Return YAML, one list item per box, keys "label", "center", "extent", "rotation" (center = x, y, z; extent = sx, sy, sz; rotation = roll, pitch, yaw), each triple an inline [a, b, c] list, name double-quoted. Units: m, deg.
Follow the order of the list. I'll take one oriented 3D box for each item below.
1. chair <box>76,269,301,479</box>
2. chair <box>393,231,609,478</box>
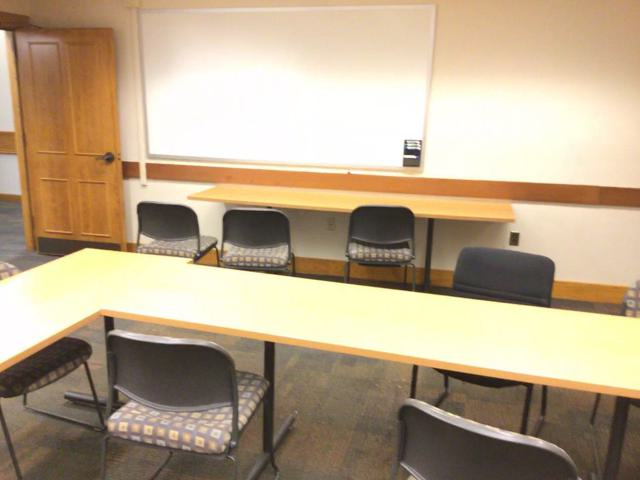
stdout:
- label: "chair"
  center: [-0.440, 0.550, 2.090]
  extent: [0.520, 0.680, 0.660]
  rotation: [8, 13, 13]
- label: "chair"
  center: [0.710, 0.450, 2.500]
  extent: [0.570, 0.790, 0.650]
  rotation: [7, 13, -3]
